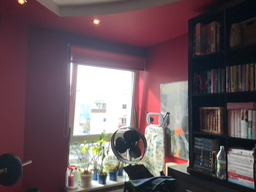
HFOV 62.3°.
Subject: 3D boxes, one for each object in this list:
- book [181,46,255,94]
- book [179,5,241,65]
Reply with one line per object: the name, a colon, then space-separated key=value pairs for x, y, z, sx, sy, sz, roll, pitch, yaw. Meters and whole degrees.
book: x=0.890 y=-0.190 z=1.910 sx=0.400 sy=0.290 sz=0.730 roll=3 pitch=-3 yaw=-32
book: x=0.780 y=-0.550 z=2.030 sx=0.450 sy=0.410 sz=0.340 roll=2 pitch=-3 yaw=-27
